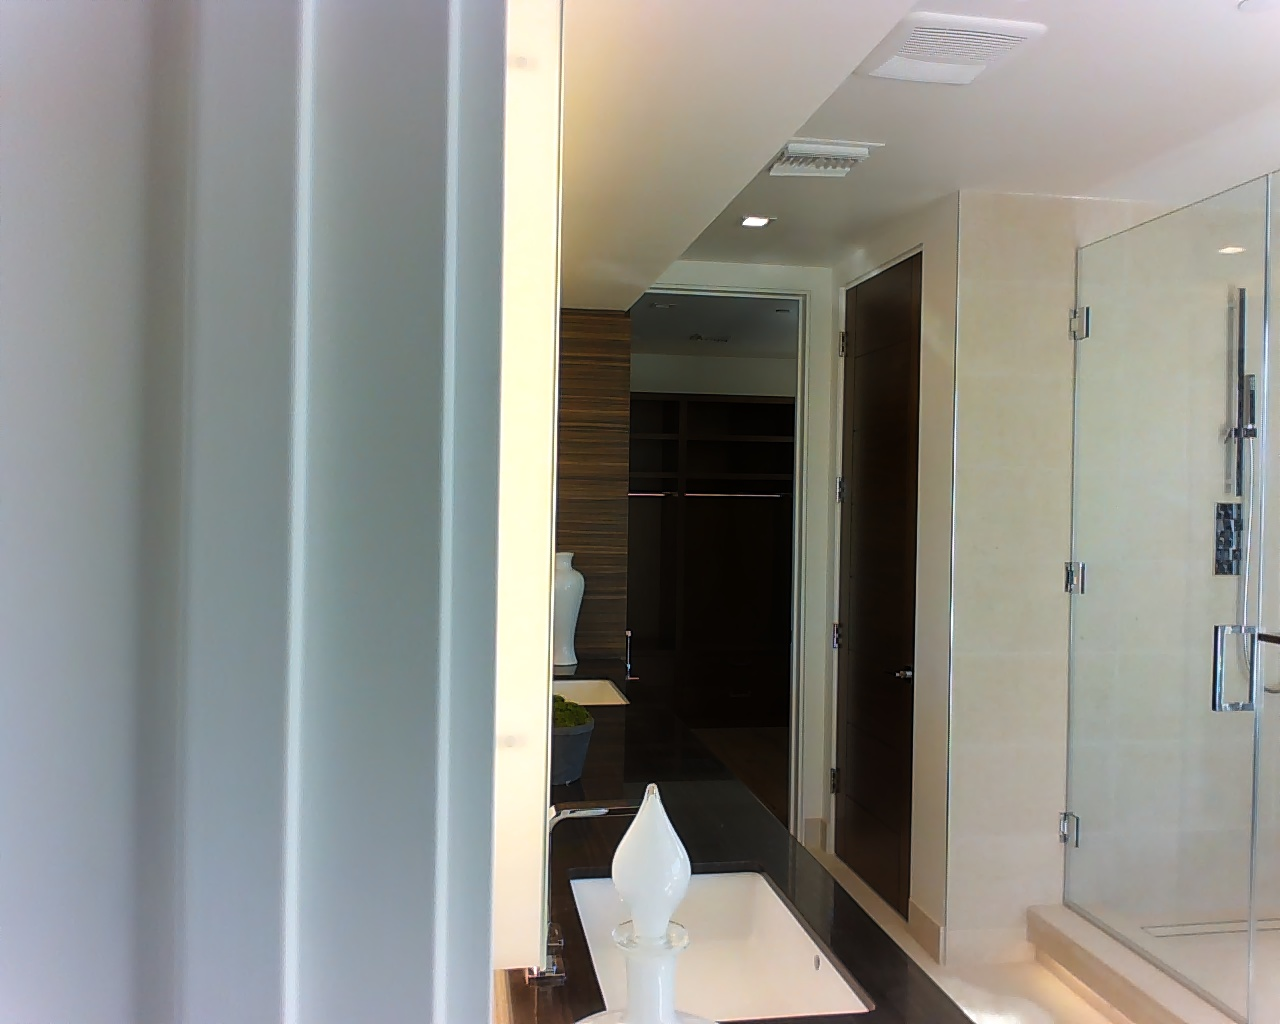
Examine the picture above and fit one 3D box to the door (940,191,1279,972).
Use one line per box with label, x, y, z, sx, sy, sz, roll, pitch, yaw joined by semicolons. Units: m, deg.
door;1.780;0.240;3.640;1.520;2.510;0.120;1;1;-9
